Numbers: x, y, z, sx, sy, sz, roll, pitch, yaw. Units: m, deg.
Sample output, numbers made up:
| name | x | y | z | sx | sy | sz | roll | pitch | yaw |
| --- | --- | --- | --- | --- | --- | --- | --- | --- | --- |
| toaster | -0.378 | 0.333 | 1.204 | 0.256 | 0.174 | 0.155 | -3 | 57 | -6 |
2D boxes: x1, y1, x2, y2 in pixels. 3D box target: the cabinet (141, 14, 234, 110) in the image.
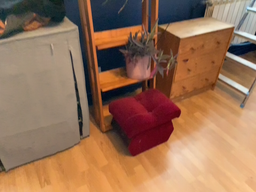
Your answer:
| name | x | y | z | sx | sy | sz | roll | pitch | yaw |
| --- | --- | --- | --- | --- | --- | --- | --- | --- | --- |
| cabinet | 0.540 | -0.350 | 2.080 | 0.660 | 0.700 | 0.410 | -17 | 40 | -24 |

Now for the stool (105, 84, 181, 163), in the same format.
| name | x | y | z | sx | sy | sz | roll | pitch | yaw |
| --- | --- | --- | --- | --- | --- | --- | --- | --- | --- |
| stool | 0.100 | 0.190 | 1.610 | 0.430 | 0.360 | 0.320 | -18 | 40 | -24 |
